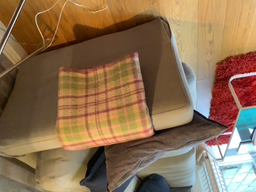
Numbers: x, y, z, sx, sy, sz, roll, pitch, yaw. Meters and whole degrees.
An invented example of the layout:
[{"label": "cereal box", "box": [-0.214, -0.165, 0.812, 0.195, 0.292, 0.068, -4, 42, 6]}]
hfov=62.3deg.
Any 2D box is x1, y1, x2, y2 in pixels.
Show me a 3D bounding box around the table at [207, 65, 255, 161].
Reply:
[{"label": "table", "box": [1.130, 0.210, 1.940, 0.600, 0.340, 1.100, -10, 143, 8]}]
